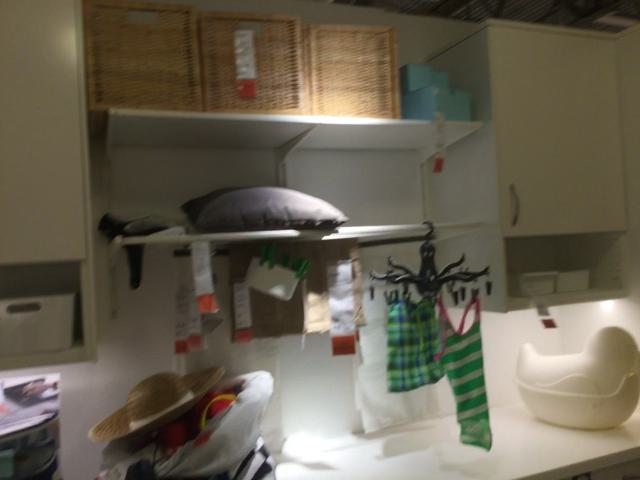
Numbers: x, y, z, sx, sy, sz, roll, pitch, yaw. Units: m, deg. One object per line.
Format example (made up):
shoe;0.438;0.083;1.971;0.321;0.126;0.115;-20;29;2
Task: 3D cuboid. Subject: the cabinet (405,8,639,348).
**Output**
cabinet;0.810;-0.230;2.210;0.680;1.110;0.470;-7;-1;-21

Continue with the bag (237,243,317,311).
bag;-0.140;0.120;1.830;0.160;0.140;0.180;-33;5;-21

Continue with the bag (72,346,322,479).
bag;-0.370;0.580;1.660;0.560;0.380;0.600;-7;-1;-21
